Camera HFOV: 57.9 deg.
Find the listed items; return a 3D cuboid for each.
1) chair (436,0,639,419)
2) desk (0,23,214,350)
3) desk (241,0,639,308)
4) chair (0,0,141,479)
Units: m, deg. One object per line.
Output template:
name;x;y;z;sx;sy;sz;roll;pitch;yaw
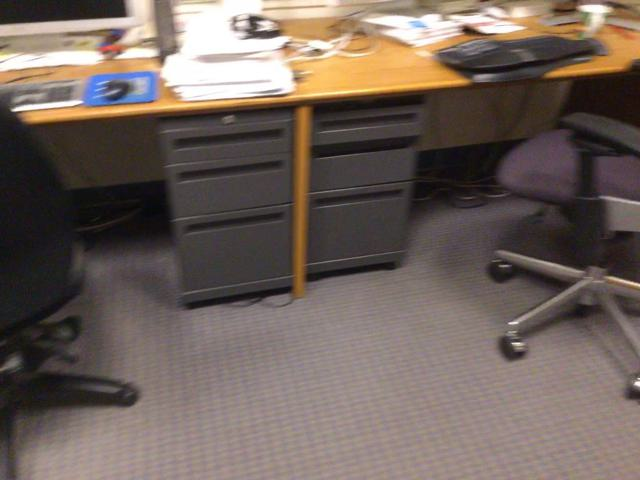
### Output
chair;0.840;-0.230;1.580;0.640;1.110;0.650;-17;38;-23
desk;-1.000;-0.180;1.810;1.170;0.720;0.740;-9;35;-13
desk;0.560;-0.410;2.140;1.540;0.750;0.770;-9;35;-13
chair;-0.790;0.080;1.230;0.620;1.010;0.710;-8;35;-12
